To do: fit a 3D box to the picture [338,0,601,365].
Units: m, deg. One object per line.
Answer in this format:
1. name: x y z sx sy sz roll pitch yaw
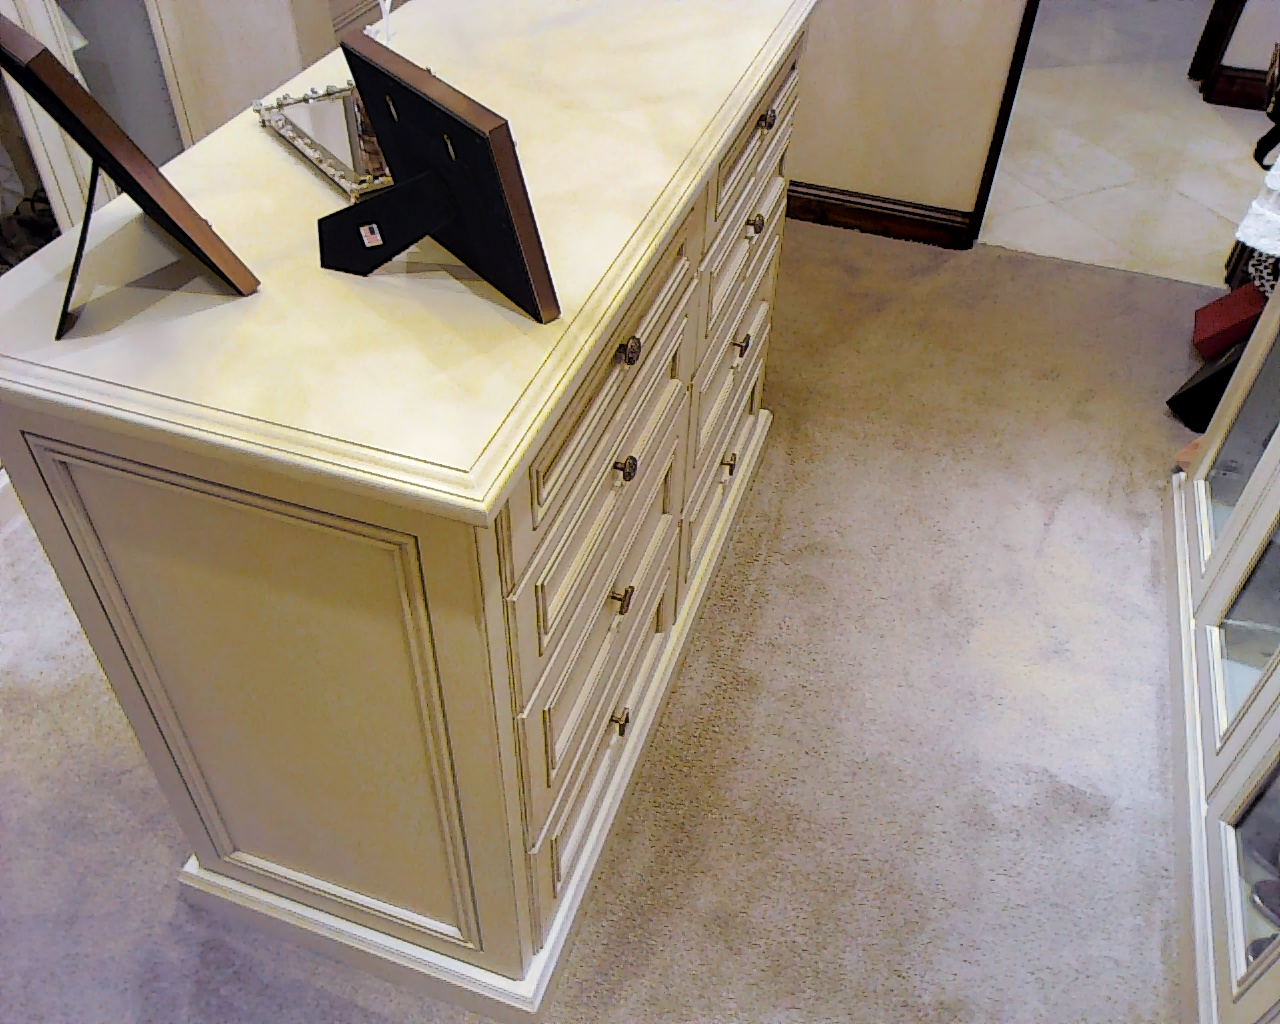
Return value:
1. picture: -0.170 -0.310 1.000 0.080 0.210 0.280 -27 57 -33
